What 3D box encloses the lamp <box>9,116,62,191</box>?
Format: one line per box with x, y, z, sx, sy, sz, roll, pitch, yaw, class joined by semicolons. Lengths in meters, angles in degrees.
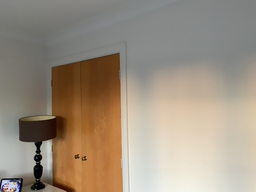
-0.930;0.580;2.140;0.390;0.720;0.340;-3;-3;38;lamp
